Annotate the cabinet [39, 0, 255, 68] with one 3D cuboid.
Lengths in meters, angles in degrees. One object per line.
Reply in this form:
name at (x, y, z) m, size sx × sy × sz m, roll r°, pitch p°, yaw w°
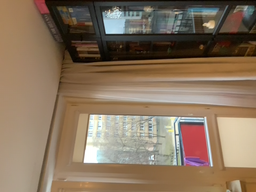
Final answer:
cabinet at (0.560, -0.620, 1.910) m, size 0.850 × 2.370 × 0.290 m, roll 89°, pitch -177°, yaw -64°
